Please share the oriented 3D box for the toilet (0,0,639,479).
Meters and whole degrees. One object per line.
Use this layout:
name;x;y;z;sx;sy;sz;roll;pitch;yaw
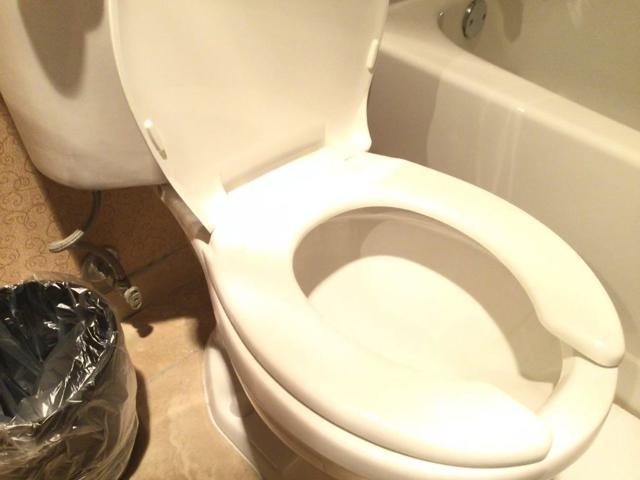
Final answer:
toilet;0.030;-0.040;0.620;0.500;0.710;0.700;-33;54;-33
